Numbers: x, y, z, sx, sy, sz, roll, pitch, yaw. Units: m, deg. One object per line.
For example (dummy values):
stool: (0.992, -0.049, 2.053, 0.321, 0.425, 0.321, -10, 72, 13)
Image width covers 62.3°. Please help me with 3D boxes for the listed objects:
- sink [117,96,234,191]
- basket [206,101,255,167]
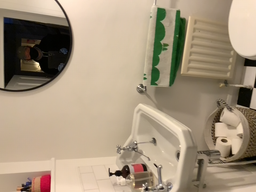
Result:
sink: (0.180, 0.270, 1.130, 0.590, 0.290, 0.420, -149, 63, -67)
basket: (0.770, 0.250, 1.500, 0.280, 0.230, 0.370, -147, 61, -67)
